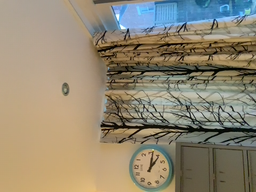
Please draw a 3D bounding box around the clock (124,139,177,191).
[{"bbox_3d":[0.190,0.590,1.720,0.120,0.400,0.430,56,-143,-69],"label":"clock"}]
